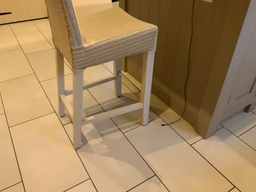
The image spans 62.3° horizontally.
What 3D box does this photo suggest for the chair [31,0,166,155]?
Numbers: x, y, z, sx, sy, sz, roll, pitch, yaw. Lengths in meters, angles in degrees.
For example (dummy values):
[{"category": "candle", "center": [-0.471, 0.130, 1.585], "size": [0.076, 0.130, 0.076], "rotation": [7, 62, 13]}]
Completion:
[{"category": "chair", "center": [-0.160, -0.250, 1.150], "size": [0.490, 0.990, 0.440], "rotation": [-20, 42, -25]}]
